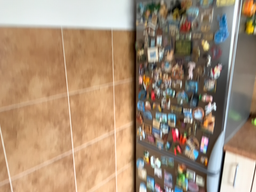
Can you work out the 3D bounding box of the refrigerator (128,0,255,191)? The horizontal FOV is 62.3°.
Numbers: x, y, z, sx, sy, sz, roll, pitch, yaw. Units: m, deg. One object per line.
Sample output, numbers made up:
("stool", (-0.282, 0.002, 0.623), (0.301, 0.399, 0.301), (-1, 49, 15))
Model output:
("refrigerator", (0.470, 0.160, 1.540), (0.630, 1.680, 0.690), (14, 21, 41))
